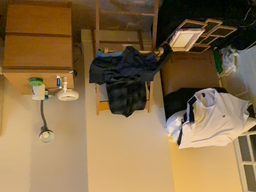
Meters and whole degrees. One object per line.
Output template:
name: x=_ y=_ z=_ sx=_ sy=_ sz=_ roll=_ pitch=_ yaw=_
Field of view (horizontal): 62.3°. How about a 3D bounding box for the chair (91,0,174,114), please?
chair: x=-0.020 y=-0.290 z=1.570 sx=0.460 sy=0.760 sz=0.480 roll=-1 pitch=165 yaw=-12
